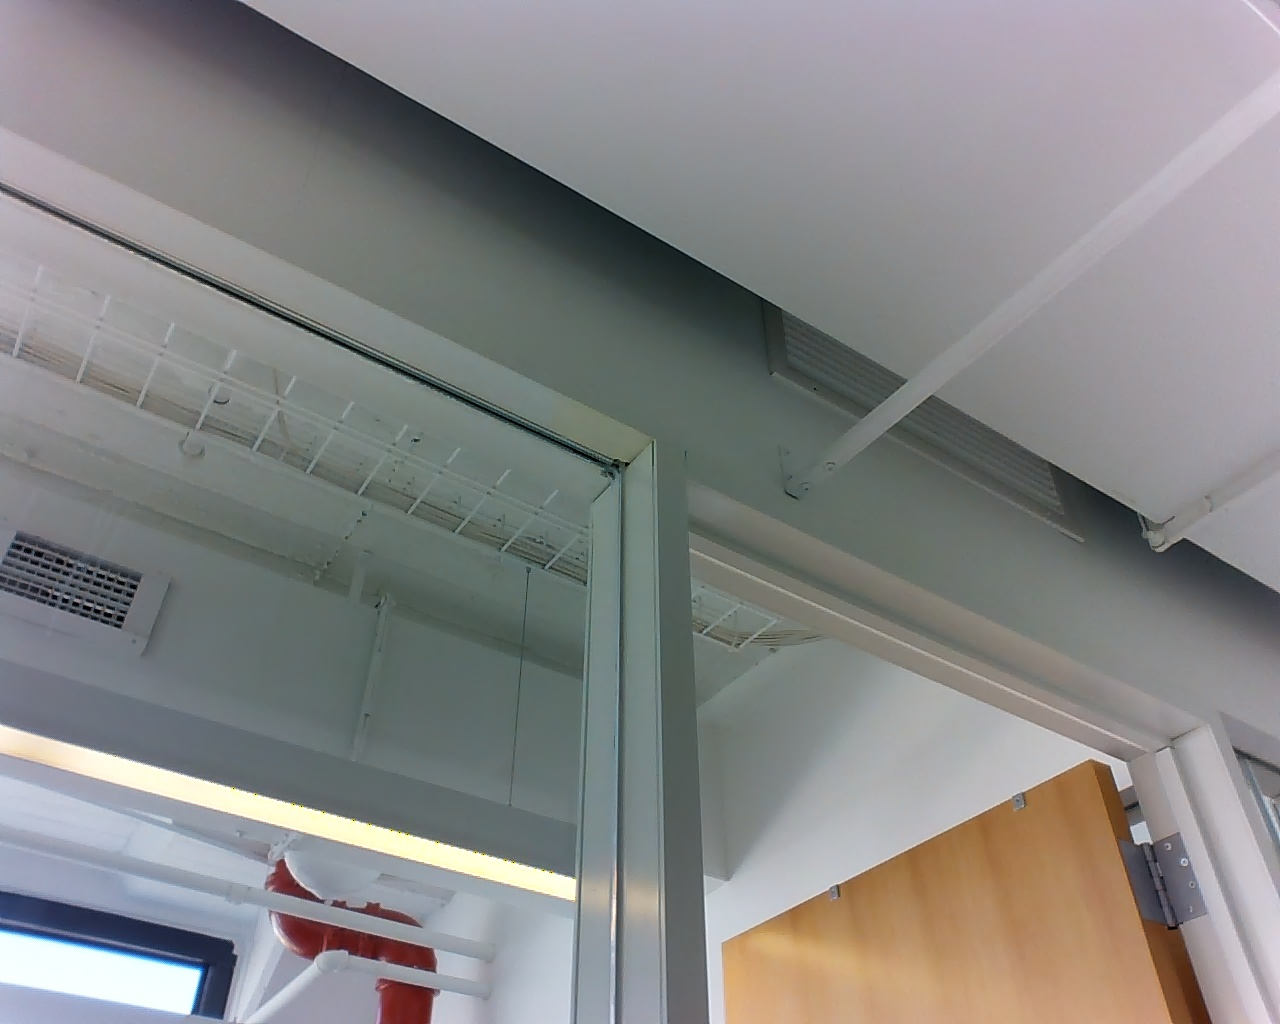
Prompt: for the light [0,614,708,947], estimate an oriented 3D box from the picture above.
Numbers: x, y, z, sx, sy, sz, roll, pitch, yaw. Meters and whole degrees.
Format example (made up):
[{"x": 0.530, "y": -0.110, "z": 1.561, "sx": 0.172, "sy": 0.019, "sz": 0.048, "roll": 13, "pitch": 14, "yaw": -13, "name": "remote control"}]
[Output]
[{"x": -0.919, "y": 0.310, "z": 1.680, "sx": 2.459, "sy": 0.180, "sz": 0.140, "roll": 25, "pitch": -47, "yaw": -25, "name": "light"}]
